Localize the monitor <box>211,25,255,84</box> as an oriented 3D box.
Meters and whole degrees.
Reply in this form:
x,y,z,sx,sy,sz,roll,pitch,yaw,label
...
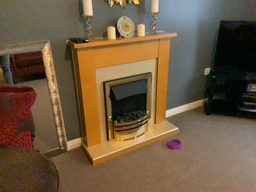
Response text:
x,y,z,sx,sy,sz,roll,pitch,yaw,label
1.460,-0.430,2.300,0.960,0.630,0.040,6,24,14,monitor
